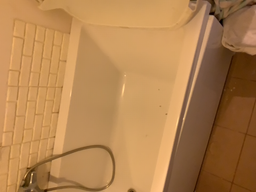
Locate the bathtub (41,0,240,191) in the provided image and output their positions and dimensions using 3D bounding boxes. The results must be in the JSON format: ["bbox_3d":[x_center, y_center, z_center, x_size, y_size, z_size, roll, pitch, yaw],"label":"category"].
[{"bbox_3d":[0.020,0.300,1.240,0.700,0.600,1.440,19,101,33],"label":"bathtub"}]
